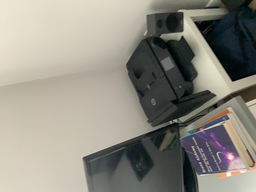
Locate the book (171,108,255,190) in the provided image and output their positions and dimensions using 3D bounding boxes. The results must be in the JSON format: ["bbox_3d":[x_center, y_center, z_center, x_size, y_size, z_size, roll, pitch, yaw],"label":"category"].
[{"bbox_3d":[0.320,0.210,0.800,0.220,0.100,0.270,65,150,19],"label":"book"}]

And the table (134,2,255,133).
[{"bbox_3d":[0.460,-0.190,1.490,0.630,0.430,0.590,65,151,19],"label":"table"}]

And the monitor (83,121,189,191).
[{"bbox_3d":[0.090,0.520,0.940,0.040,0.470,0.730,21,122,56],"label":"monitor"}]
